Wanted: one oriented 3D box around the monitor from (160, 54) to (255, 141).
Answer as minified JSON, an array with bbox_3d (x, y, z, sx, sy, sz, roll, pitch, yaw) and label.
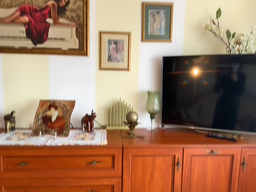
[{"bbox_3d":[0.810,0.000,1.700,1.080,0.660,0.070,5,8,21],"label":"monitor"}]
